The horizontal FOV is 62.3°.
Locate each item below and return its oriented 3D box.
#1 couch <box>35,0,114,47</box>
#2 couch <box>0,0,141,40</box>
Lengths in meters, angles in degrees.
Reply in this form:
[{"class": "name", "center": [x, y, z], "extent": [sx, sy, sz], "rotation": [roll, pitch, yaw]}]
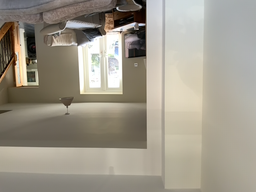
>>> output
[{"class": "couch", "center": [-1.210, -1.680, 4.940], "extent": [1.110, 0.900, 1.350], "rotation": [6, -169, 44]}, {"class": "couch", "center": [-0.850, -1.300, 2.590], "extent": [1.790, 0.910, 1.070], "rotation": [2, -174, 21]}]
